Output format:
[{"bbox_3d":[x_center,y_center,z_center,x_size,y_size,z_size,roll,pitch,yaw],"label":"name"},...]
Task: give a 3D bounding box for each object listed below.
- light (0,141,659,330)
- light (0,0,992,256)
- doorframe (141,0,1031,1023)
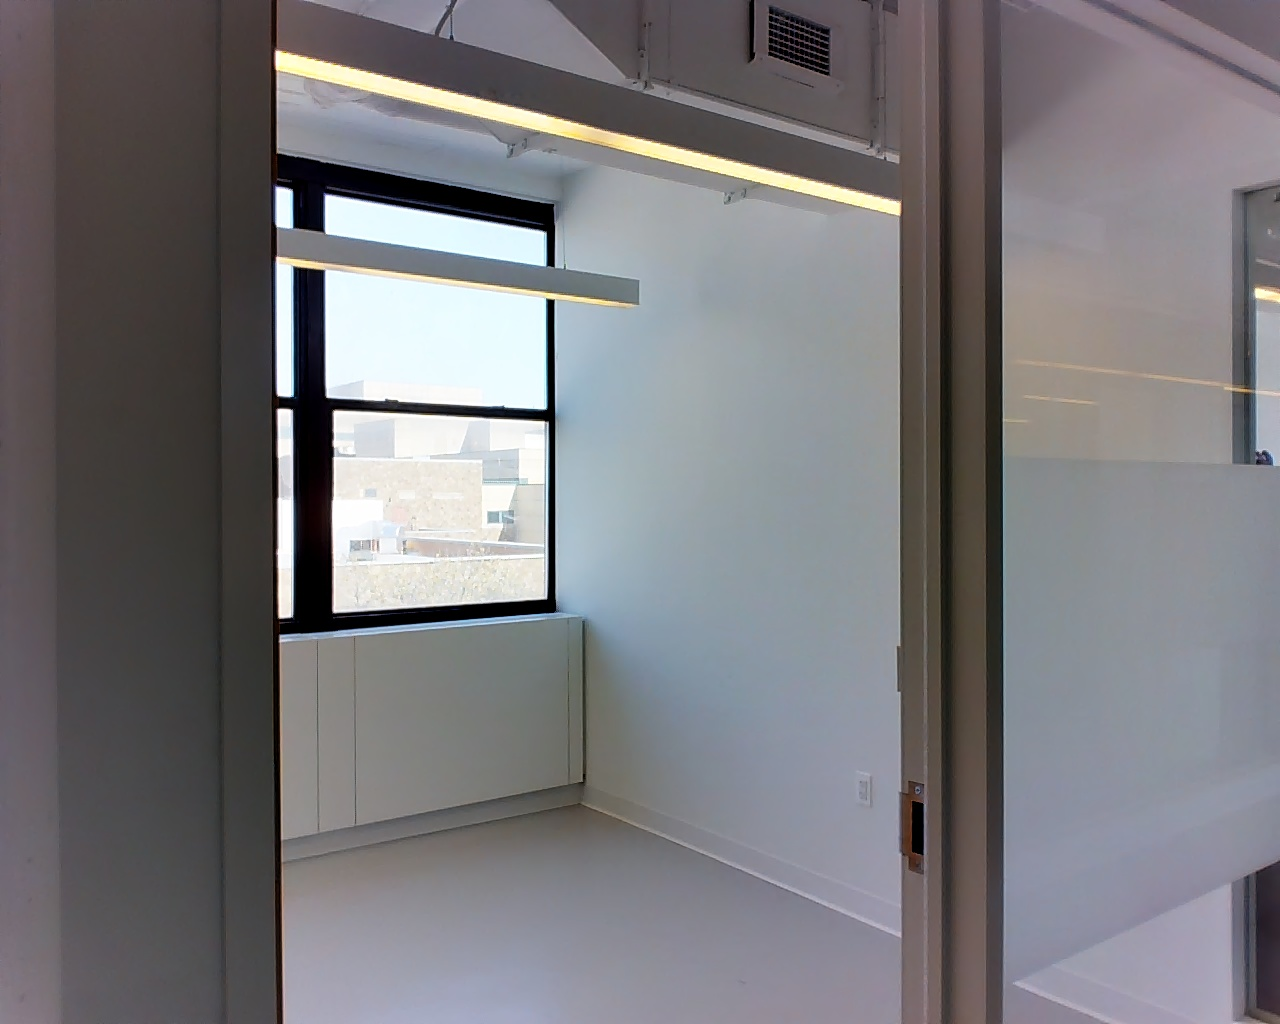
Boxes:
[{"bbox_3d":[-1.000,-0.880,3.620,2.490,0.260,0.280,-1,0,-37],"label":"light"},{"bbox_3d":[-0.160,-0.960,2.320,2.660,0.400,0.290,-1,0,-37],"label":"light"},{"bbox_3d":[0.020,0.330,1.230,1.020,2.240,0.290,-1,1,-37],"label":"doorframe"}]
